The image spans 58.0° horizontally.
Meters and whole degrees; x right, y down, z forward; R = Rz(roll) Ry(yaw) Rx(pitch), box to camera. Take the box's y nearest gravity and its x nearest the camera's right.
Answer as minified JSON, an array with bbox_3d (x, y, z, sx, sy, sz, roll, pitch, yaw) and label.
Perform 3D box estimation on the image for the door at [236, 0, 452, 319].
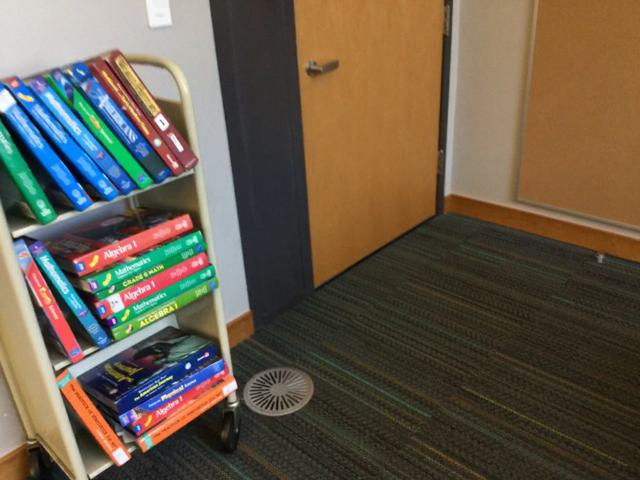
[{"bbox_3d":[0.160,-0.640,2.270,0.200,1.640,1.010,17,31,40],"label":"door"}]
